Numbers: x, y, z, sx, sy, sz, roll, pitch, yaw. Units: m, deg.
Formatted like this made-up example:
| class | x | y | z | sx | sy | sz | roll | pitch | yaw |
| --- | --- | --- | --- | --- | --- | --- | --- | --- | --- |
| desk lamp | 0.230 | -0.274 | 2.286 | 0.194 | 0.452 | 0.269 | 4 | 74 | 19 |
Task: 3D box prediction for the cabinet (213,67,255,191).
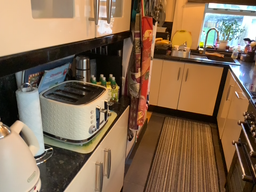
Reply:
| class | x | y | z | sx | sy | sz | roll | pitch | yaw |
| --- | --- | --- | --- | --- | --- | --- | --- | --- | --- |
| cabinet | 1.390 | 0.280 | 2.320 | 0.630 | 0.860 | 1.220 | 10 | 23 | 14 |
